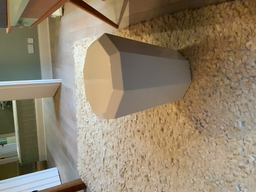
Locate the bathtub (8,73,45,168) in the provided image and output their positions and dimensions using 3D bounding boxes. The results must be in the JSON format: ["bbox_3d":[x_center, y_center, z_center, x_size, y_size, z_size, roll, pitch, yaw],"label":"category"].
[{"bbox_3d":[-2.590,0.540,5.390,0.950,0.570,2.170,18,111,56],"label":"bathtub"}]
